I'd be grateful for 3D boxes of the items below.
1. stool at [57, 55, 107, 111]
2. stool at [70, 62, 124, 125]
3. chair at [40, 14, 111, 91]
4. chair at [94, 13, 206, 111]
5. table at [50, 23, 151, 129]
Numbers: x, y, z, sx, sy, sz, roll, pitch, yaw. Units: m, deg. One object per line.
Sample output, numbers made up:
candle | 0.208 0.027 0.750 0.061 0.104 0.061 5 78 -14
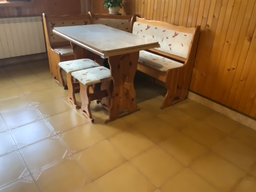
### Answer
stool | -0.500 -0.160 2.370 0.420 0.470 0.310 -18 34 -34
stool | -0.310 -0.040 2.160 0.420 0.470 0.310 -18 34 -34
chair | -0.660 -0.610 2.820 0.730 0.830 0.440 -19 35 -35
chair | 0.150 -0.550 2.780 0.460 0.830 1.480 -19 35 -35
table | -0.330 -0.290 2.300 0.590 0.770 0.950 -18 34 -34
